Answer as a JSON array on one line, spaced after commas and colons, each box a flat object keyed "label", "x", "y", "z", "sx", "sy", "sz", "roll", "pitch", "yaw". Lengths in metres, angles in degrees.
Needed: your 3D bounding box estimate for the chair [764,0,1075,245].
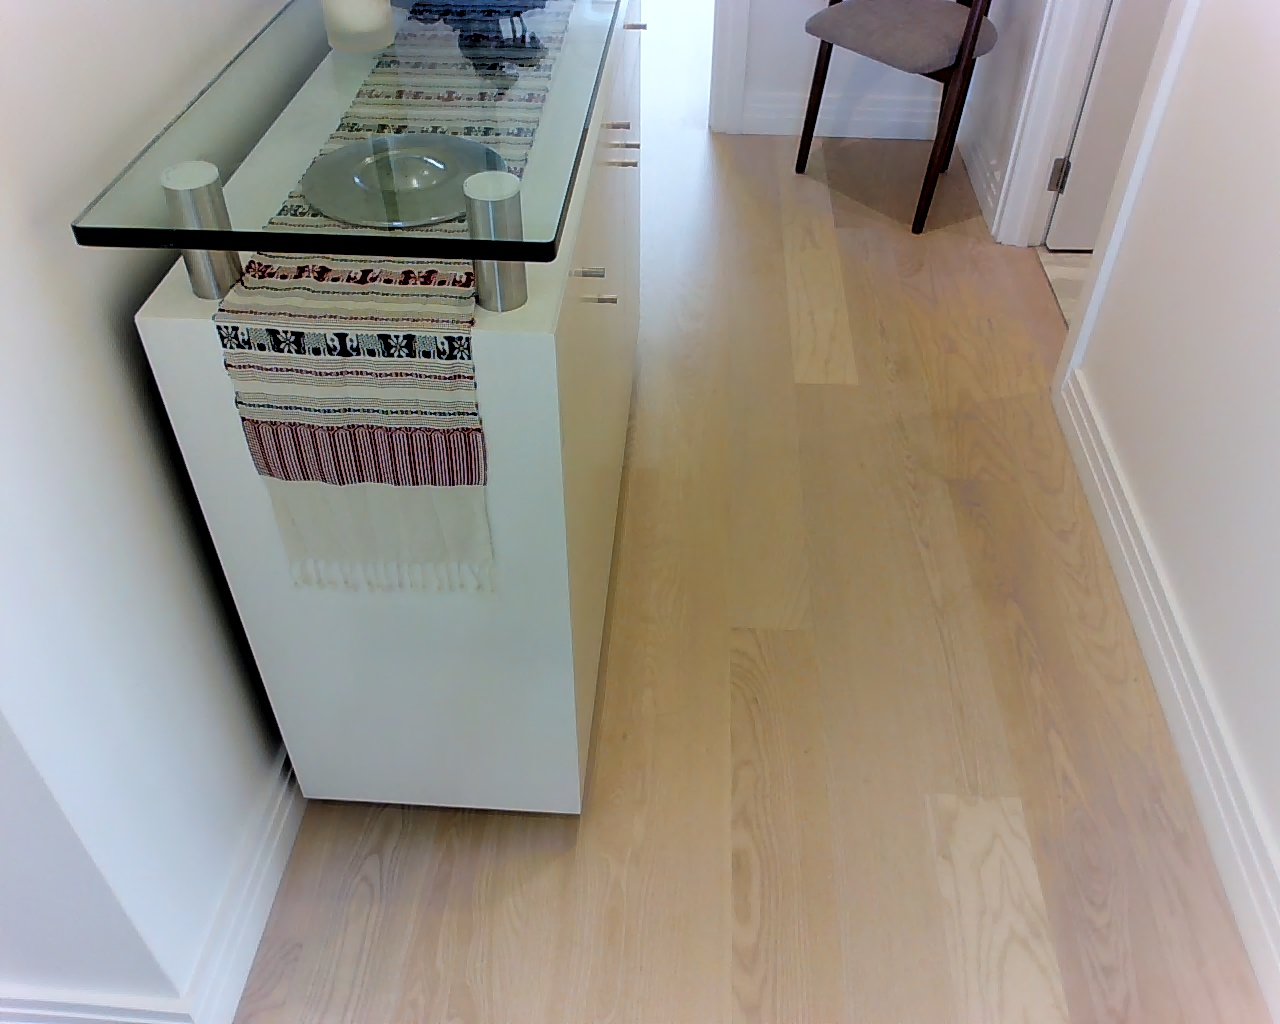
[{"label": "chair", "x": 0.740, "y": -1.230, "z": 2.930, "sx": 0.490, "sy": 0.710, "sz": 0.570, "roll": -25, "pitch": 48, "yaw": -26}]
